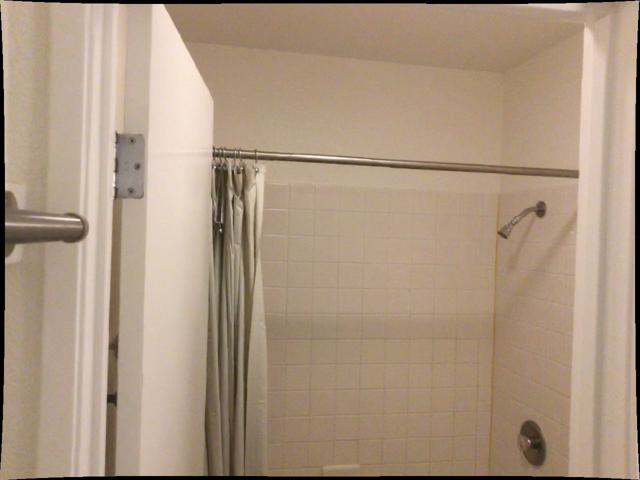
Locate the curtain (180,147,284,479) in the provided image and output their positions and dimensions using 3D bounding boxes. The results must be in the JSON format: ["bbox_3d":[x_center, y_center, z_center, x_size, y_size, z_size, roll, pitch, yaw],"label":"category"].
[{"bbox_3d":[-0.270,0.541,1.700,0.260,1.583,0.210,2,1,-10],"label":"curtain"}]
